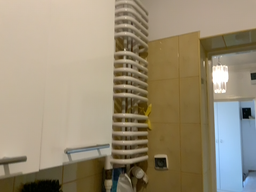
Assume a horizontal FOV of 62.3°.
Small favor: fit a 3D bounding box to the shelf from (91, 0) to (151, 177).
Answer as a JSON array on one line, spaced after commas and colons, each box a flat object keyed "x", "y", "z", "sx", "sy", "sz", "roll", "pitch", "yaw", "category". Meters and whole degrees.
[{"x": -0.020, "y": -0.120, "z": 1.180, "sx": 0.190, "sy": 1.020, "sz": 0.270, "roll": -3, "pitch": -9, "yaw": 30, "category": "shelf"}]
